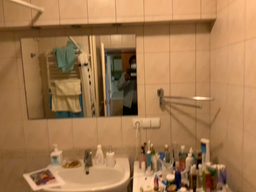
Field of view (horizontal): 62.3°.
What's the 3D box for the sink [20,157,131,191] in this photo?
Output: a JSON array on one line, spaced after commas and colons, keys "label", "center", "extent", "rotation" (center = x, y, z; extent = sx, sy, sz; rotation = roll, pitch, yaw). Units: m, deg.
[{"label": "sink", "center": [-0.320, 0.620, 1.540], "extent": [0.680, 0.150, 0.470], "rotation": [-2, 7, 1]}]
